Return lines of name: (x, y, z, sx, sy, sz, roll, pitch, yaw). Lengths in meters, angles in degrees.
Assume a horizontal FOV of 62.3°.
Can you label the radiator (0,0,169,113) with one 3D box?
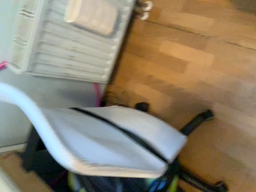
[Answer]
radiator: (-0.160, -0.290, 1.000, 0.240, 0.700, 0.660, 27, 104, 29)
